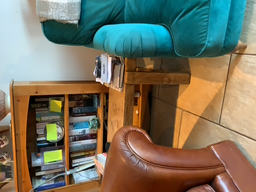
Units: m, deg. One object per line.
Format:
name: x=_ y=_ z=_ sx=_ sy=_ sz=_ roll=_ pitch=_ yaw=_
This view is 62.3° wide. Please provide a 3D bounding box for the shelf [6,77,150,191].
shelf: x=-0.400 y=0.340 z=1.830 sx=0.410 sy=1.060 sz=0.950 roll=23 pitch=114 yaw=60
